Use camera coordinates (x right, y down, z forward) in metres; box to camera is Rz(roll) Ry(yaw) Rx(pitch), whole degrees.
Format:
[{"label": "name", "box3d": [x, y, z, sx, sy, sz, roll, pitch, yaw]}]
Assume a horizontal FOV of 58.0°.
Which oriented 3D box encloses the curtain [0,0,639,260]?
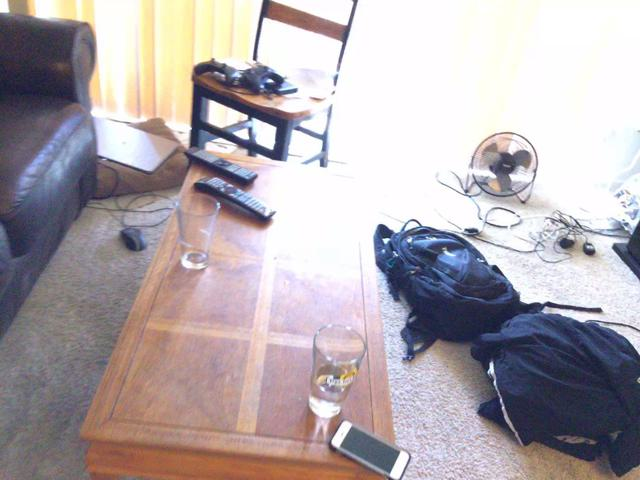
[{"label": "curtain", "box3d": [0.380, -1.450, 2.020, 2.760, 2.660, 0.320, 15, 28, -9]}]
